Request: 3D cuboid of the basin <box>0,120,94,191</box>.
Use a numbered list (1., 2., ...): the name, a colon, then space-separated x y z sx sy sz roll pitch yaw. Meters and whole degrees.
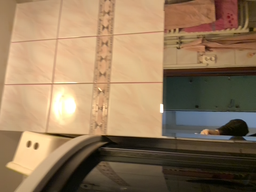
1. basin: -0.310 0.240 0.730 0.260 0.280 0.190 -65 -27 -59
